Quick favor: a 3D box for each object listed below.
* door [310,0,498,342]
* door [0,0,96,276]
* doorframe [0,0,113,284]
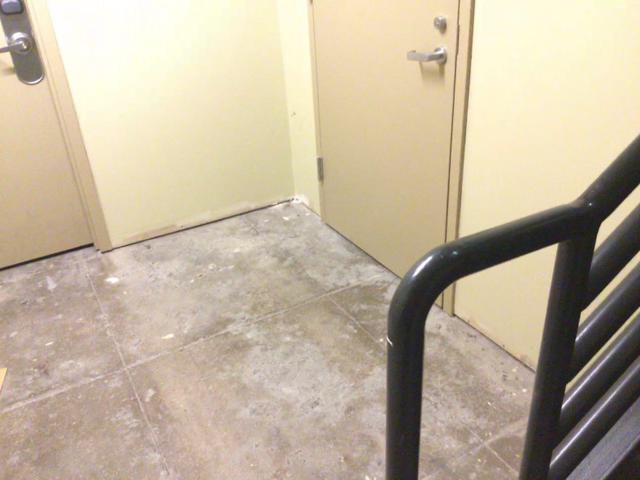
[{"bbox_3d":[0.240,-0.670,2.090,0.070,1.950,0.960,-18,32,-25],"label":"door"},{"bbox_3d":[-1.460,-0.490,2.200,0.840,1.440,0.090,-18,32,-25],"label":"door"},{"bbox_3d":[-1.450,-0.470,2.170,0.990,1.450,0.140,-18,32,-25],"label":"doorframe"}]
